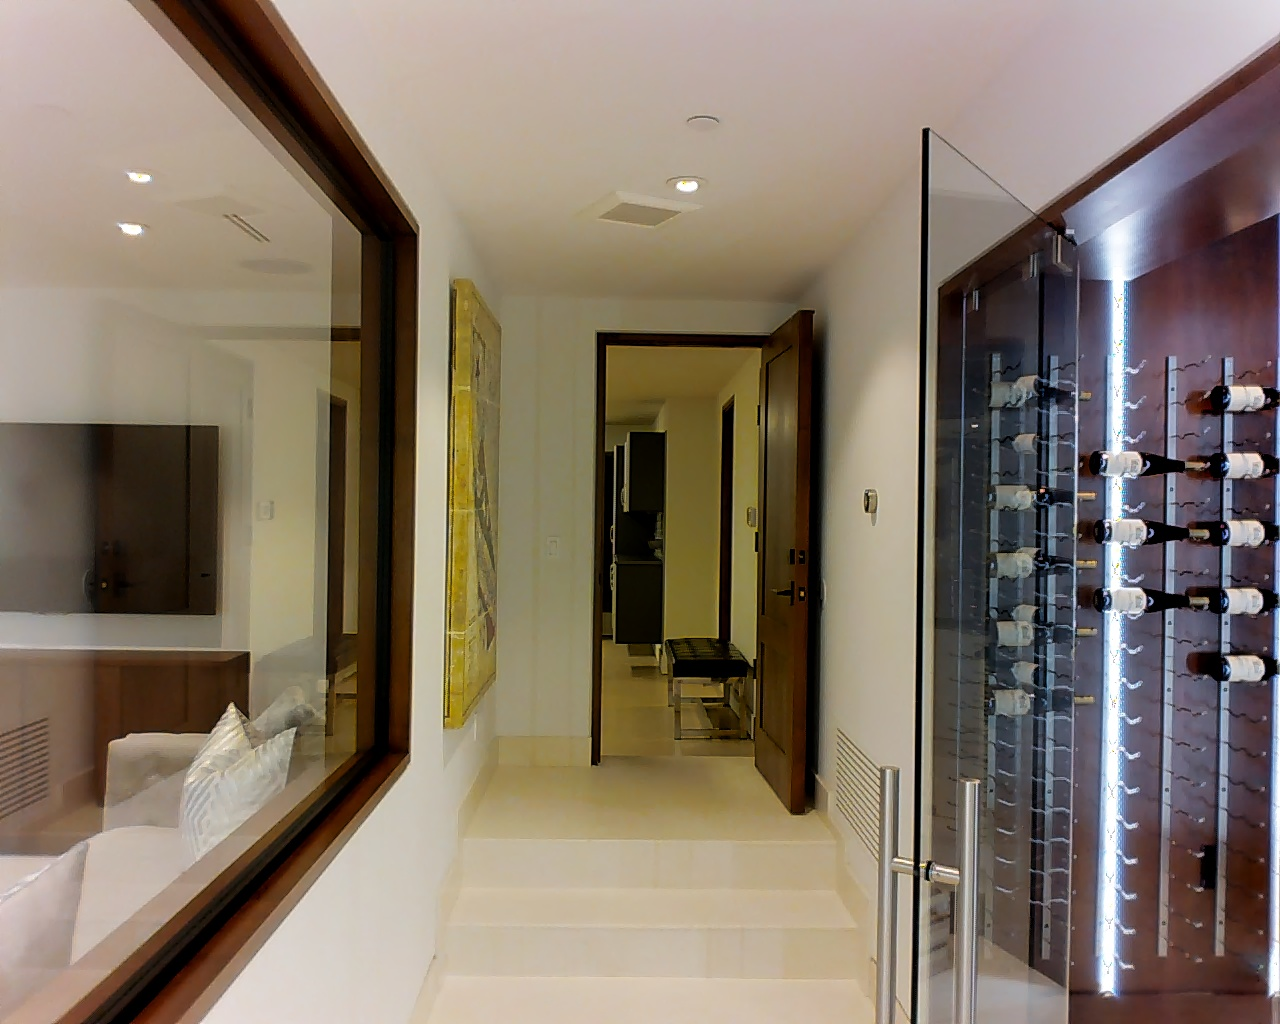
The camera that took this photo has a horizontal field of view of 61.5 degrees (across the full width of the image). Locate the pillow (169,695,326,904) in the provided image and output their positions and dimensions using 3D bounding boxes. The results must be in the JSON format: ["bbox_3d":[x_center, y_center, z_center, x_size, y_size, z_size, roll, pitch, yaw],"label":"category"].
[{"bbox_3d":[-1.200,0.840,3.260,0.310,0.460,0.570,1,0,-34],"label":"pillow"}]
